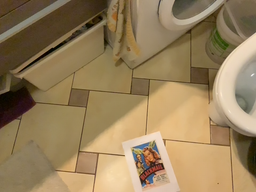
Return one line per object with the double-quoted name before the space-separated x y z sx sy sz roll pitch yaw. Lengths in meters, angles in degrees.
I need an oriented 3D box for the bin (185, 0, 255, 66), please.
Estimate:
"bin" 0.540 -0.400 1.160 0.270 0.320 0.250 -36 74 -12
